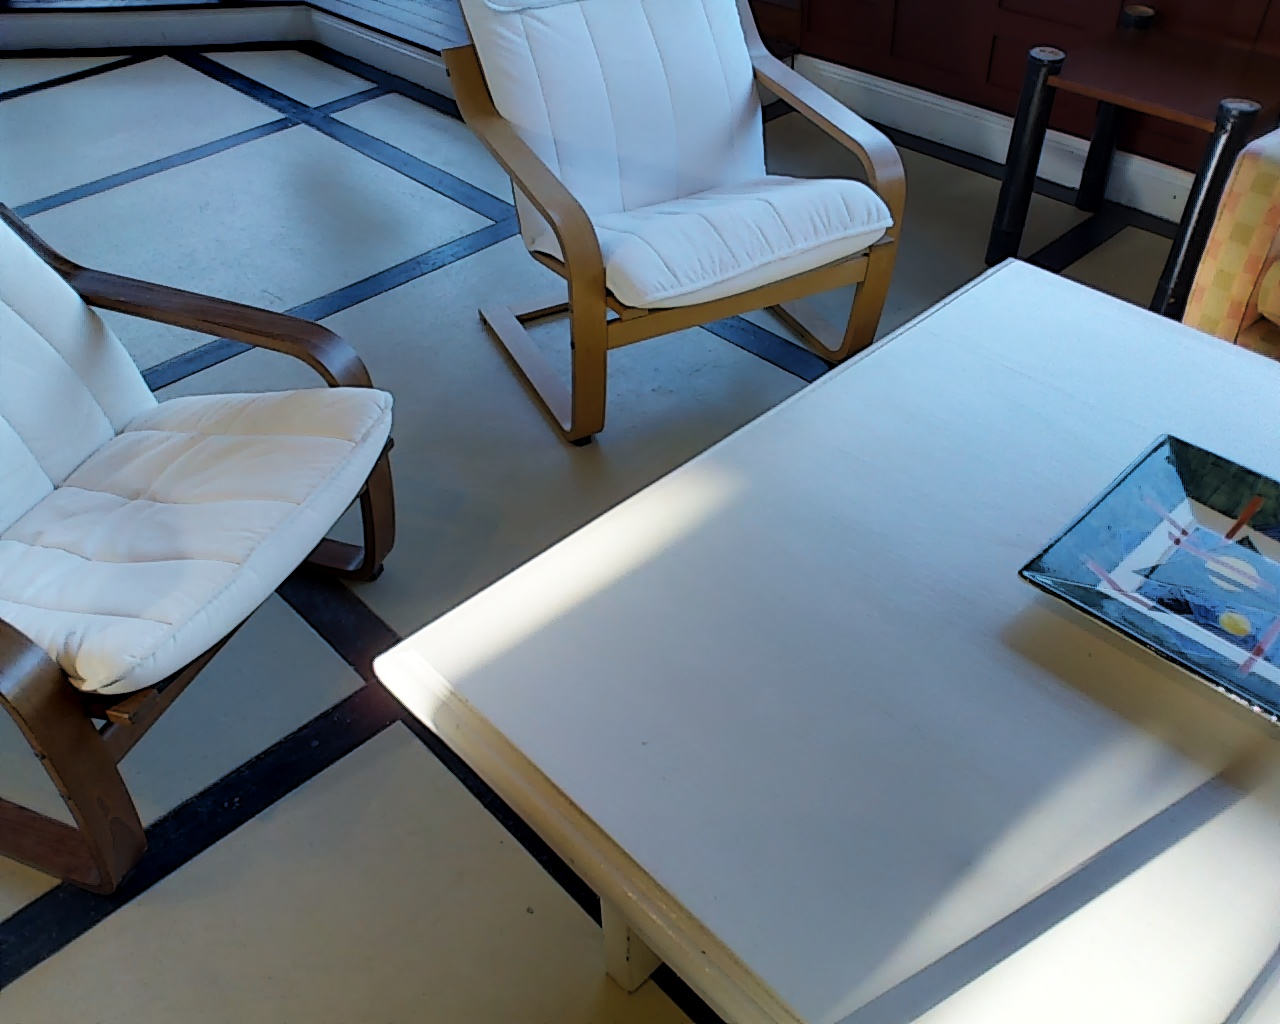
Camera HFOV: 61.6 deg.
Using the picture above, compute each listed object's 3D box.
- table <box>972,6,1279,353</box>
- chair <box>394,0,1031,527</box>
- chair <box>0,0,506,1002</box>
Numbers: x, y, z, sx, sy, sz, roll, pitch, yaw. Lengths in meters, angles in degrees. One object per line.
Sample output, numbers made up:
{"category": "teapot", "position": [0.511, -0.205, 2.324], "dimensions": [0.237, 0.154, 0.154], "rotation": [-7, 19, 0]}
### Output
{"category": "table", "position": [1.180, -0.780, 2.460], "dimensions": [0.530, 0.500, 0.520], "rotation": [-33, 49, -30]}
{"category": "chair", "position": [0.070, -0.720, 2.100], "dimensions": [0.800, 0.950, 0.920], "rotation": [-19, 44, -17]}
{"category": "chair", "position": [-0.850, -0.120, 1.440], "dimensions": [0.950, 0.950, 0.840], "rotation": [13, 44, 17]}
